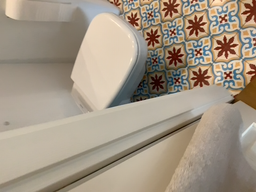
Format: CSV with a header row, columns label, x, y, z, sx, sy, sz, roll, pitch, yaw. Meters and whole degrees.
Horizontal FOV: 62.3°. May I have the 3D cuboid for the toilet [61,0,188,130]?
label,x,y,z,sx,sy,sz,roll,pitch,yaw
toilet,-0.040,-0.160,1.200,0.360,0.380,0.540,49,124,24
